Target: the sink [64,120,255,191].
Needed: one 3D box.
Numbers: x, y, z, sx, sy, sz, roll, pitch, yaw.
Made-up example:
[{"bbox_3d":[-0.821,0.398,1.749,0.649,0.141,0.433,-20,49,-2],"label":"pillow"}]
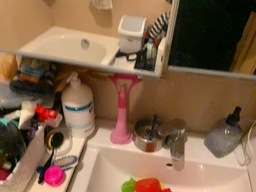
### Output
[{"bbox_3d":[0.130,0.320,0.690,0.610,0.170,0.390,8,40,5],"label":"sink"}]
